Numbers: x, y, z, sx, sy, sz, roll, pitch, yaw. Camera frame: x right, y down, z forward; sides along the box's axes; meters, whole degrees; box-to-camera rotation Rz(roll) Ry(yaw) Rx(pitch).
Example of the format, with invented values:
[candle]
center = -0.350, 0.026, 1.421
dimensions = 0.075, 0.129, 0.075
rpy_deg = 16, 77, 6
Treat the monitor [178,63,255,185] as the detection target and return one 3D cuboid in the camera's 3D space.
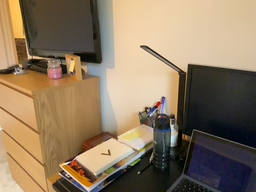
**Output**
[monitor]
center = 0.460, 0.120, 0.830
dimensions = 0.530, 0.440, 0.050
rpy_deg = 14, 22, 39
